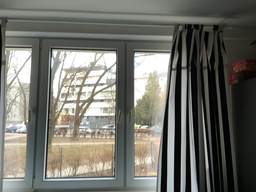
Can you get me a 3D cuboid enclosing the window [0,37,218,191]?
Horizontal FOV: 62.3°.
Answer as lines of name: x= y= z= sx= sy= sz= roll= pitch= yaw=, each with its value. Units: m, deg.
window: x=-0.300 y=0.210 z=2.040 sx=2.190 sy=1.510 sz=0.230 roll=1 pitch=-6 yaw=1
